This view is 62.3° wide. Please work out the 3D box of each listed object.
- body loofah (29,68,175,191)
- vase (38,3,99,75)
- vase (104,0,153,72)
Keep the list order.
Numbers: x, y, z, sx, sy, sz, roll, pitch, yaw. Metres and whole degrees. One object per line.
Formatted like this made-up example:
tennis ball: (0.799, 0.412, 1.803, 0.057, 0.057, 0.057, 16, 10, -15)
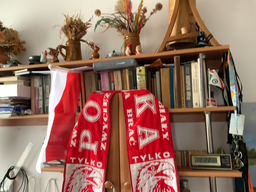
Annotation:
body loofah: (-0.110, 0.270, 1.000, 0.600, 0.690, 0.290, -4, -8, 19)
vase: (-0.330, -0.300, 1.190, 0.280, 0.300, 0.170, -5, -9, 26)
vase: (0.010, -0.330, 1.120, 0.210, 0.350, 0.210, -3, -8, 13)
